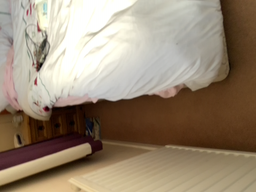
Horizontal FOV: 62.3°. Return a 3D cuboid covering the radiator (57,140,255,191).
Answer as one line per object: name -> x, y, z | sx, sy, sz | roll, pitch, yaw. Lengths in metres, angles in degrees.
radiator -> 0.240, 0.260, 0.710 | 0.900, 0.630, 0.090 | -14, 83, 50

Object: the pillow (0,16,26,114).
pillow -> -1.060, -0.220, 1.860 | 0.610, 0.230, 0.710 | 162, 104, -67

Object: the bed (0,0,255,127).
bed -> -0.560, -0.660, 1.480 | 2.210, 0.950, 1.610 | -11, 86, 51
